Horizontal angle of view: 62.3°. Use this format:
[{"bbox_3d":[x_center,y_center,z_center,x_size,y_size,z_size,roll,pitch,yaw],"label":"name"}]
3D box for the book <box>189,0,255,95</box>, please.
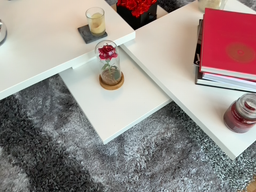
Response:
[{"bbox_3d":[0.420,-0.230,0.850,0.280,0.150,0.400,11,58,8],"label":"book"}]
